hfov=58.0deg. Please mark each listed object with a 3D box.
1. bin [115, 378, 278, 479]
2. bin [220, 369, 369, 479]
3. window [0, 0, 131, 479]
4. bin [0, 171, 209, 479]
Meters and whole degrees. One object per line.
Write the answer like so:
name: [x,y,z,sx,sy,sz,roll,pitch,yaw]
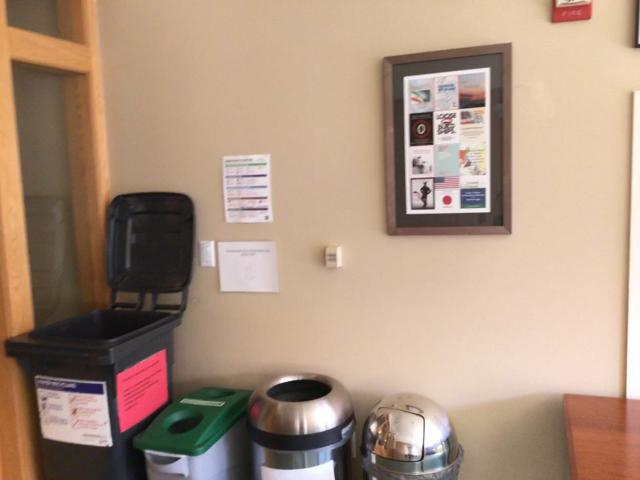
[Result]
bin: [-0.430,0.930,2.170,0.350,0.670,0.590,-1,0,17]
bin: [-0.070,0.900,2.090,0.410,0.760,0.430,-1,0,17]
window: [-1.130,0.170,2.260,0.430,2.270,0.630,-1,0,17]
bin: [-0.820,0.530,2.210,0.530,1.490,0.620,-1,0,17]
